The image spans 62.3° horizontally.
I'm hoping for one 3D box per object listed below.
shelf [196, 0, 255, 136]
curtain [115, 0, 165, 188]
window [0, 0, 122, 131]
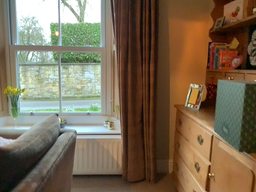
[{"bbox_3d":[0.820,-0.380,1.370,0.230,1.140,1.190,1,8,-4],"label":"shelf"},{"bbox_3d":[0.100,-0.220,2.130,0.390,2.200,0.420,2,8,-1],"label":"curtain"},{"bbox_3d":[-0.740,-0.510,2.450,1.310,1.800,0.170,1,8,0],"label":"window"}]
